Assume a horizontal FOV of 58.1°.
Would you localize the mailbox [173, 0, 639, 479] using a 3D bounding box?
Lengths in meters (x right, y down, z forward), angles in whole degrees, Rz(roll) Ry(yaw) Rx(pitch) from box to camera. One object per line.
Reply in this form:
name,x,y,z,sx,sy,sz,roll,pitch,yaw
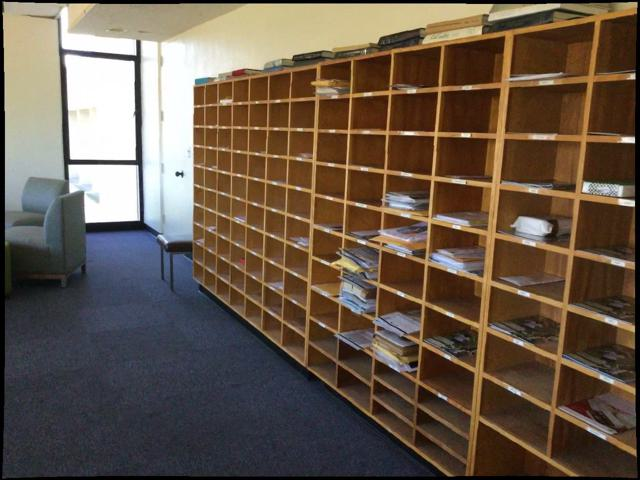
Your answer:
mailbox,0.229,-0.130,3.130,0.589,1.965,4.807,-5,14,-31
